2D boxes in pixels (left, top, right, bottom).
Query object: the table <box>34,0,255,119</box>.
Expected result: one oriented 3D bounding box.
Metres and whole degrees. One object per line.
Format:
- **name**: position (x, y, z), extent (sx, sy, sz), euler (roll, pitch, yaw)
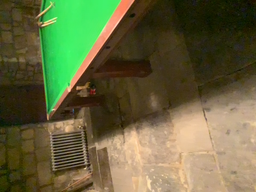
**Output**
- **table**: position (-0.310, -0.920, 2.210), extent (3.220, 0.860, 1.730), euler (-29, 68, 58)
